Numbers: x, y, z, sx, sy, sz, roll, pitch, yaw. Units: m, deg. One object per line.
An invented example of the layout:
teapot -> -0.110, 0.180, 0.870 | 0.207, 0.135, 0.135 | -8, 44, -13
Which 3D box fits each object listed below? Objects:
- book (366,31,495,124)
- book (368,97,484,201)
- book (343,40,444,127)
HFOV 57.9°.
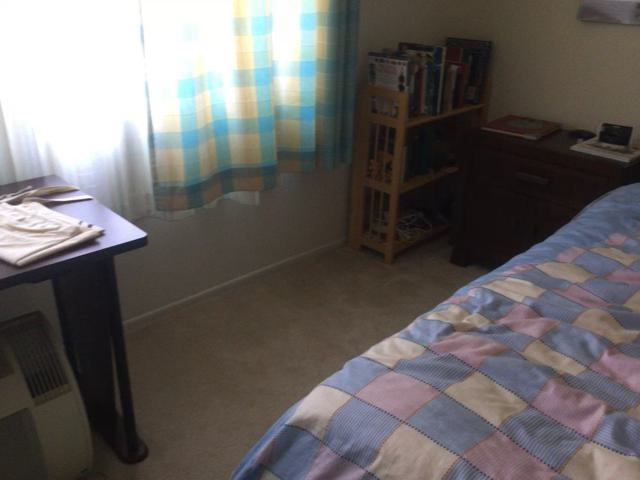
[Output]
book -> 0.520, -0.780, 2.720 | 0.540, 0.340, 0.290 | -19, 32, -38
book -> 0.510, -0.450, 2.760 | 0.600, 0.370, 0.170 | -19, 32, -38
book -> 0.320, -0.710, 2.580 | 0.260, 0.310, 0.330 | -19, 32, -38
